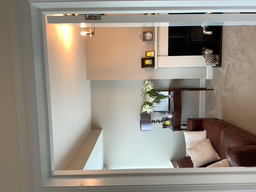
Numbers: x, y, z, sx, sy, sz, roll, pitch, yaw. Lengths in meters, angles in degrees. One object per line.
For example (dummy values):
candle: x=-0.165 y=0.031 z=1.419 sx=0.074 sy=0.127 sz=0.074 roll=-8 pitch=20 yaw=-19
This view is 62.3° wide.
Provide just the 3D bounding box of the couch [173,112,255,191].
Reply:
couch: x=1.210 y=0.870 z=2.920 sx=1.640 sy=0.820 sz=0.980 roll=-96 pitch=4 yaw=-83
